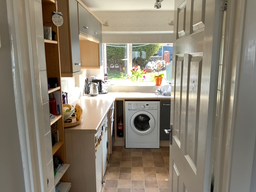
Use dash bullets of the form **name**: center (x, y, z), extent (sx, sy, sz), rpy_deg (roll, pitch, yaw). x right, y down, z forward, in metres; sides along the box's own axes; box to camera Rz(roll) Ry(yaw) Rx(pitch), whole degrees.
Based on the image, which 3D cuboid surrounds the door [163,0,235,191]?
- **door**: center (0.350, 0.300, 1.330), extent (0.070, 2.100, 0.860), rpy_deg (0, 11, 0)

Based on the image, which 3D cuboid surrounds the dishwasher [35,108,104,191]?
- **dishwasher**: center (-0.590, 0.650, 2.330), extent (0.570, 0.940, 0.510), rpy_deg (0, 11, 1)

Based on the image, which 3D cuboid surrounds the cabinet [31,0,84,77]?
- **cabinet**: center (-0.690, -0.620, 2.140), extent (0.380, 0.830, 0.320), rpy_deg (0, 11, 2)
